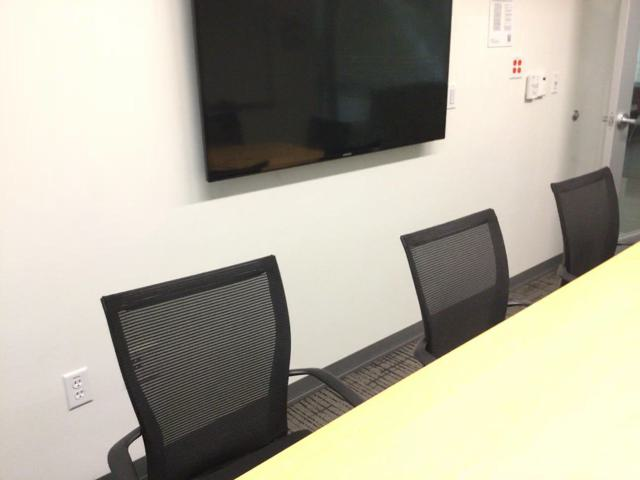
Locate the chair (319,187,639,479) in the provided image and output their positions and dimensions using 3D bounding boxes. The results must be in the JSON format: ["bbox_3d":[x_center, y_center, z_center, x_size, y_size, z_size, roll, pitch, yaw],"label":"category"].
[{"bbox_3d":[0.480,0.380,1.630,0.610,0.870,0.690,-18,22,-36],"label":"chair"}]

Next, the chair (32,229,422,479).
[{"bbox_3d":[-0.180,0.540,1.320,0.560,0.930,0.590,-18,22,-36],"label":"chair"}]
